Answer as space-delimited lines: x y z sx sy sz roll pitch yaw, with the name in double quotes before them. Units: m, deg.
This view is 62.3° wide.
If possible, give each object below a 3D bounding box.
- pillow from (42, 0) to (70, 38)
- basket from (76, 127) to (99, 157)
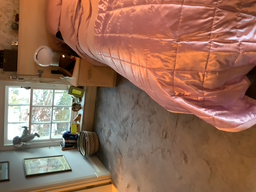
"pillow" -0.800 -0.970 2.350 0.470 0.180 0.610 25 110 57
"basket" -0.610 0.680 3.170 0.310 0.220 0.320 25 110 57
